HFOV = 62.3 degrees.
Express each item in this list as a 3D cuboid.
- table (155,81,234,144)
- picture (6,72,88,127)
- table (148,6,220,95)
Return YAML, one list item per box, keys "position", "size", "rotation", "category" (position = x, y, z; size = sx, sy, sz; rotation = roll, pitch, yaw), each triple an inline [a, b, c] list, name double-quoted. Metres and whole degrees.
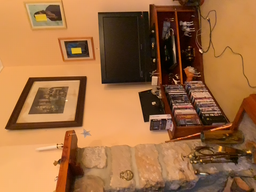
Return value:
- position: [0.610, 0.130, 2.110]
  size: [0.690, 0.530, 0.170]
  rotation: [-99, 8, -51]
  category: "table"
- position: [-0.820, -0.010, 2.350]
  size: [0.880, 0.690, 0.070]
  rotation: [-99, 9, -53]
  category: "picture"
- position: [0.570, -0.550, 2.490]
  size: [0.750, 0.490, 0.770]
  rotation: [-99, 8, -51]
  category: "table"
